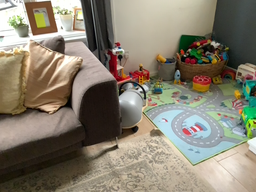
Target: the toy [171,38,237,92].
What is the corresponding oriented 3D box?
[{"bbox_3d":[0.870,-0.390,2.530,0.460,0.410,0.520,-13,32,-18],"label":"toy"}]
